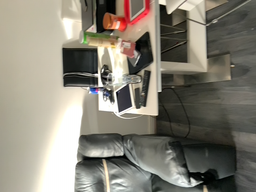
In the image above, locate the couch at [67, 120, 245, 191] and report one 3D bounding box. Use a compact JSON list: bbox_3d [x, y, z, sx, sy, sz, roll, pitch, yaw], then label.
[{"bbox_3d":[0.150,1.450,1.650,1.000,0.960,2.380,-1,89,60],"label":"couch"}]
